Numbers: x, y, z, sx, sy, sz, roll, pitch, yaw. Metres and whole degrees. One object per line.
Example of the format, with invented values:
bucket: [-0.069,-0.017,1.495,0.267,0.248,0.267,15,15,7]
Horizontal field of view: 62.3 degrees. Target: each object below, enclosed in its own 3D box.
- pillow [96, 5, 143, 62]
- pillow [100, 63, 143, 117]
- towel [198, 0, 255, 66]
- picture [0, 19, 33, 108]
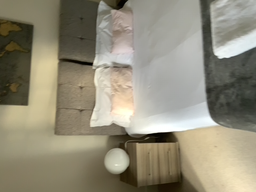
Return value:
pillow: [-0.080,-0.680,2.290,0.110,0.250,0.580,-23,35,61]
pillow: [-0.060,-0.060,2.170,0.120,0.290,0.460,-24,43,61]
towel: [0.530,-0.380,1.010,0.420,0.070,0.330,151,120,-61]
picture: [-1.300,-0.340,2.080,0.010,0.630,0.900,157,114,-62]
